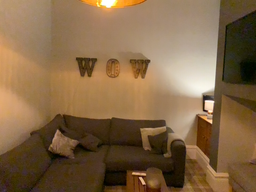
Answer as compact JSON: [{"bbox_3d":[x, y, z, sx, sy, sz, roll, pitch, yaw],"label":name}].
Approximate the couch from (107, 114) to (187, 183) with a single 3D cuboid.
[{"bbox_3d":[0.250,0.790,3.510,1.080,0.740,1.150,1,6,-1],"label":"couch"}]
